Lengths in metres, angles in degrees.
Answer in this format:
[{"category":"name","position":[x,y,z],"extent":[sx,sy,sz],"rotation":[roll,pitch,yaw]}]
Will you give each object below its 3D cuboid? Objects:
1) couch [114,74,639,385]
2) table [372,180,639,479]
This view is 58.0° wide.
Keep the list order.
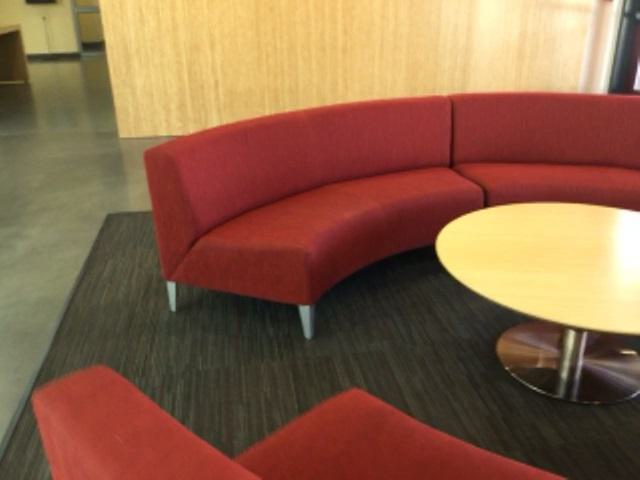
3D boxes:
[{"category":"couch","position":[0.710,-0.230,2.770],"extent":[2.940,0.810,1.300],"rotation":[-6,22,-8]},{"category":"table","position":[0.870,0.230,2.090],"extent":[1.110,0.520,1.050],"rotation":[-7,23,-9]}]
